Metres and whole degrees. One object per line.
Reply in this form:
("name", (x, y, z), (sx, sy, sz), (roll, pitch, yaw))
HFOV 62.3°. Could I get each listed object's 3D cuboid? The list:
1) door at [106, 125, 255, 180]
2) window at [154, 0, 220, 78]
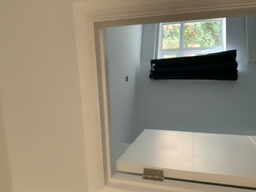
("door", (0.950, 0.330, 1.240), (0.750, 2.010, 0.060), (-14, -76, -73))
("window", (1.140, -1.210, 4.120), (0.210, 1.140, 1.740), (44, -130, -68))
